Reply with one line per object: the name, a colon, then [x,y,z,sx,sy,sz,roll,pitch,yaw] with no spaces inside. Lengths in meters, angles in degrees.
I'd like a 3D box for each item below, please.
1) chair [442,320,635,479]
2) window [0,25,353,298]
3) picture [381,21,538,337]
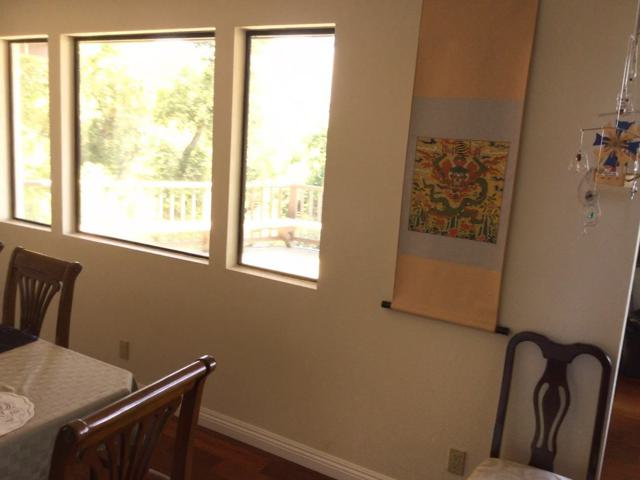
chair: [0.730,0.830,1.990,0.480,0.930,0.550,10,9,28]
window: [-1.030,-0.520,3.260,2.450,1.200,0.290,10,9,28]
picture: [0.530,-0.240,2.280,0.460,1.170,0.080,10,9,28]
